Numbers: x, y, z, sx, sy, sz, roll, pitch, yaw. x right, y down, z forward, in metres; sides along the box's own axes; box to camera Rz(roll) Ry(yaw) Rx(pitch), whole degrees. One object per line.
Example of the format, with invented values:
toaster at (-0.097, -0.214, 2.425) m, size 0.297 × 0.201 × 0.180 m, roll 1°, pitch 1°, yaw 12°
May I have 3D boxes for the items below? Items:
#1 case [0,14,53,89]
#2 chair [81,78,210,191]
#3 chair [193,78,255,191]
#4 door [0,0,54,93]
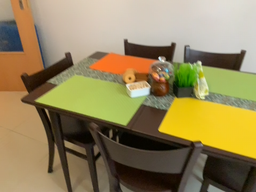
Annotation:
case at (-1.320, -0.560, 2.640) m, size 0.540 × 0.780 × 0.310 m, roll 17°, pitch 36°, yaw 26°
chair at (0.090, 0.370, 1.090) m, size 0.420 × 0.760 × 0.480 m, roll 5°, pitch 32°, yaw 9°
chair at (0.600, 0.380, 1.050) m, size 0.440 × 0.770 × 0.380 m, roll 16°, pitch 35°, yaw 24°
door at (-1.350, -0.970, 2.090) m, size 0.850 × 2.030 × 0.150 m, roll 3°, pitch 32°, yaw 5°
